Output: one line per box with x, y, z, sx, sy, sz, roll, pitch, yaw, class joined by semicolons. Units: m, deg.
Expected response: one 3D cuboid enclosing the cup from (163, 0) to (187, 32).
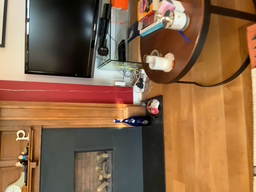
0.240;-0.430;1.090;0.110;0.070;0.160;172;99;-66;cup

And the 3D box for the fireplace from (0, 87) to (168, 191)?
-0.460;0.760;1.910;0.770;1.410;1.520;162;108;-65;fireplace
